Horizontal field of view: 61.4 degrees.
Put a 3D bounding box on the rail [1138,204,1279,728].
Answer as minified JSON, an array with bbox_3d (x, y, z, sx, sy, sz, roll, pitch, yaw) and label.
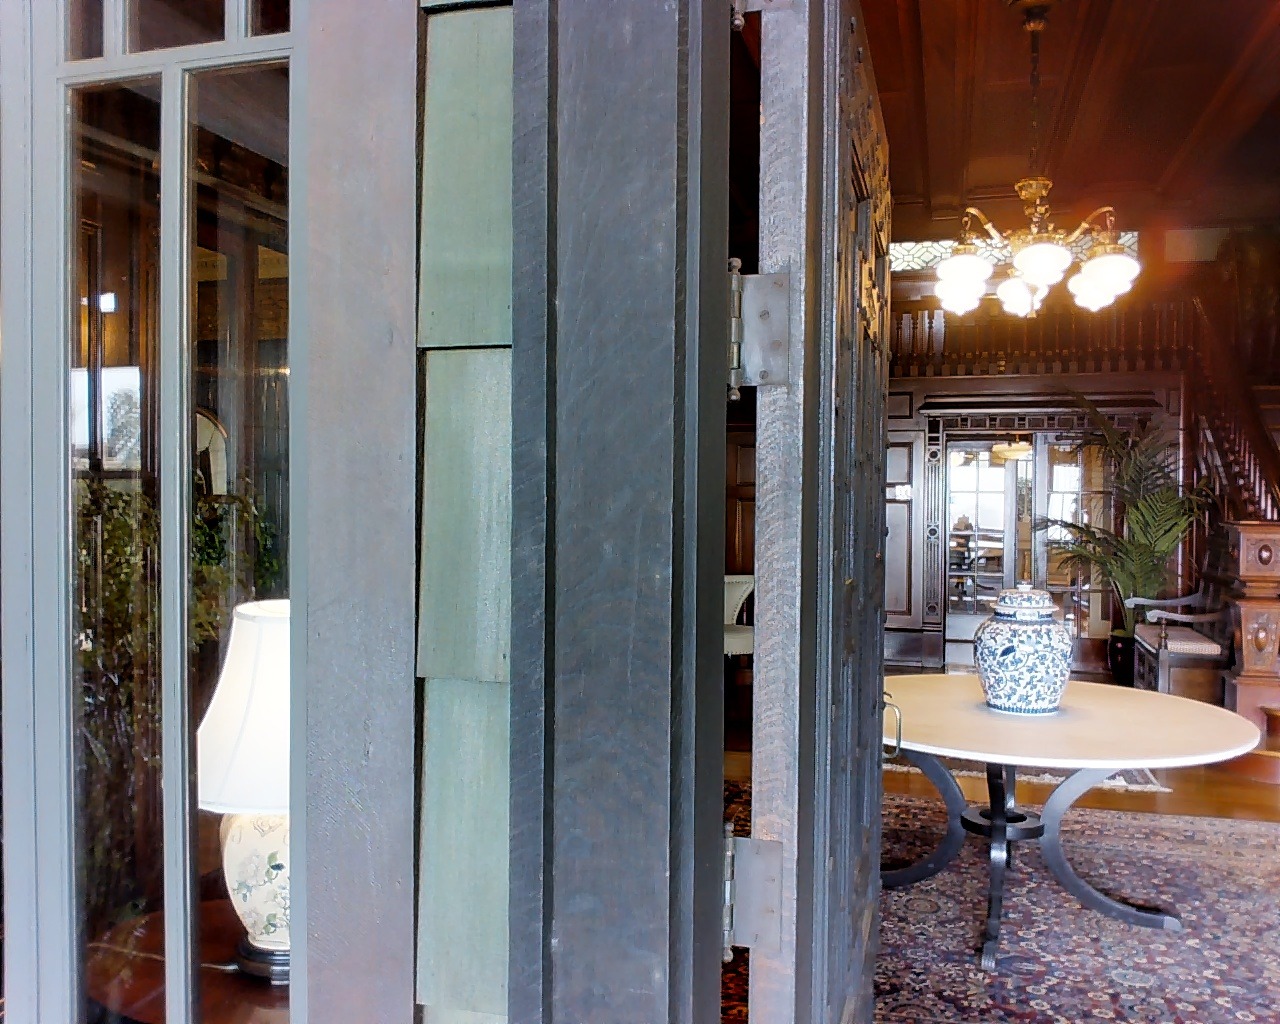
[{"bbox_3d":[4.139,-0.290,7.780,0.480,3.080,2.990,1,1,16],"label":"rail"}]
